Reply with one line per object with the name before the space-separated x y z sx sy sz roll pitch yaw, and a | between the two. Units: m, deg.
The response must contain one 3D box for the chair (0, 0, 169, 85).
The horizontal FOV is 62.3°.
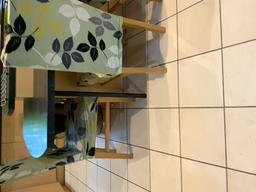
chair | -0.280 -0.350 1.380 0.570 0.920 0.460 -6 84 56
